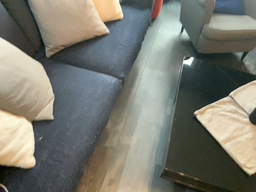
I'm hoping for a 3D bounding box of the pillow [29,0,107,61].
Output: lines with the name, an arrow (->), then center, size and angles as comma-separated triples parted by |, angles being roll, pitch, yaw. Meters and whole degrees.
pillow -> -0.390, -0.510, 1.360 | 0.280, 0.390, 0.310 | 39, 49, -4
